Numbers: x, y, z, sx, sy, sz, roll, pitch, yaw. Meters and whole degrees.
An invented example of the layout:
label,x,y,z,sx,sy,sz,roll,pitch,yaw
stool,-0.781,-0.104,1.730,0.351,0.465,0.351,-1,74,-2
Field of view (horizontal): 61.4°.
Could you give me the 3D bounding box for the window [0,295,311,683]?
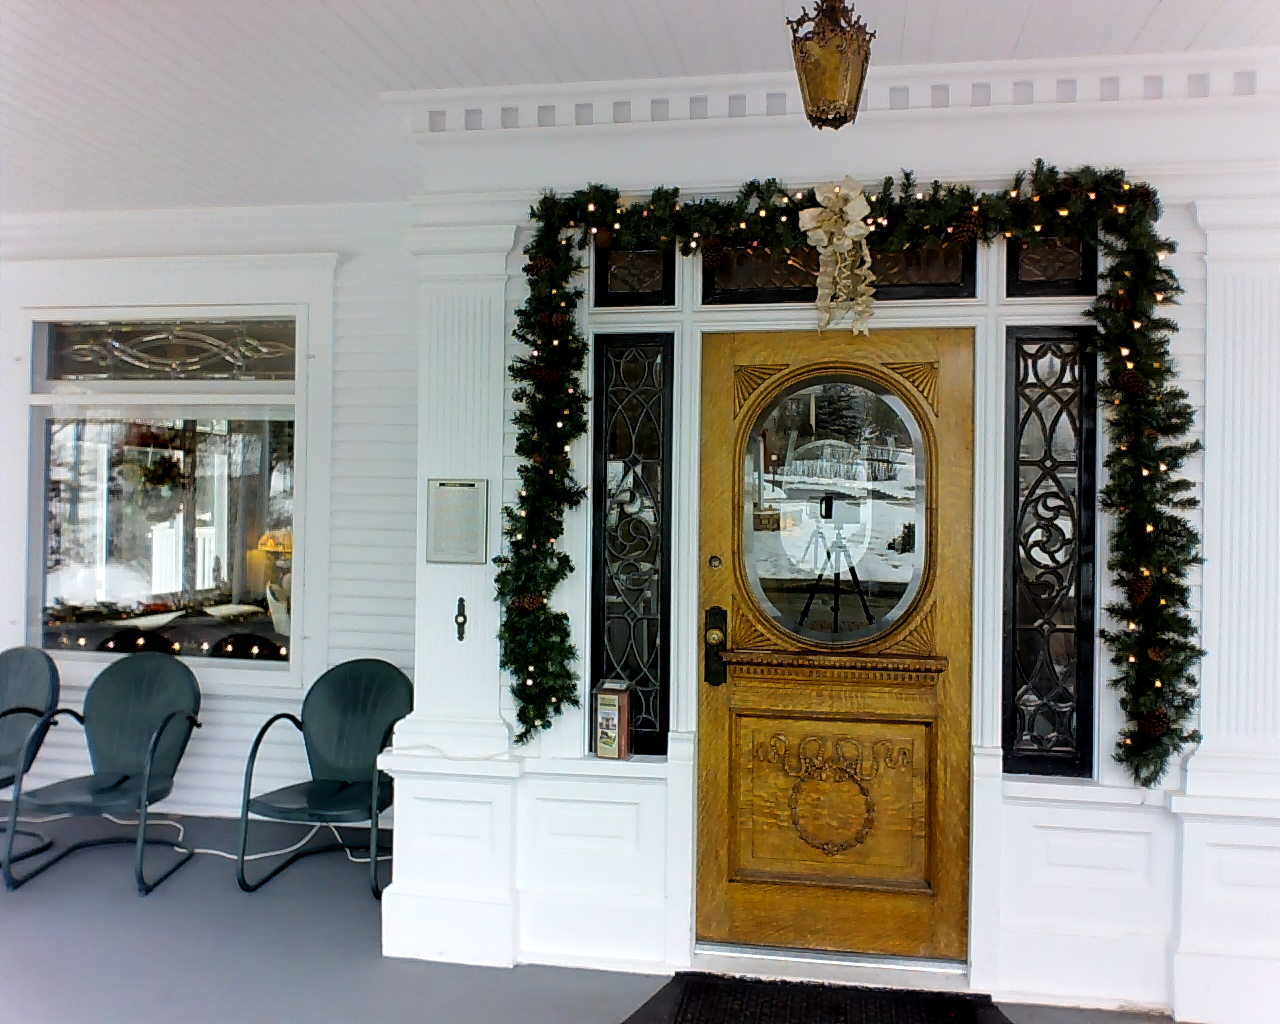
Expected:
label,x,y,z,sx,sy,sz,roll,pitch,yaw
window,-2.369,-0.110,5.170,1.599,1.781,0.170,0,1,10
